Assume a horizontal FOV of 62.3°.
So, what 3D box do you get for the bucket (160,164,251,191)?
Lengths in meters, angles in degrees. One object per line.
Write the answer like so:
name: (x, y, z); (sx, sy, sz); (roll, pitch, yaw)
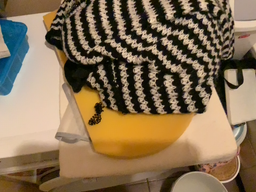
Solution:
bucket: (0.400, 0.550, 1.080); (0.380, 0.210, 0.310); (-7, 64, -5)
